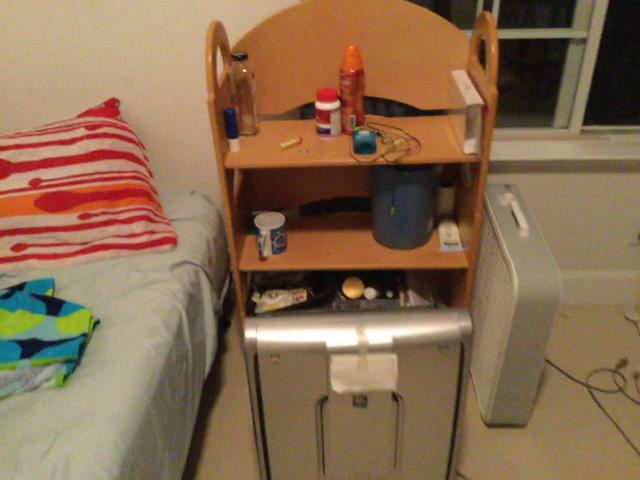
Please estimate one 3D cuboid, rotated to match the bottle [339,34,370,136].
[{"bbox_3d":[0.090,-0.390,1.450,0.060,0.210,0.150,-3,31,7],"label":"bottle"}]
